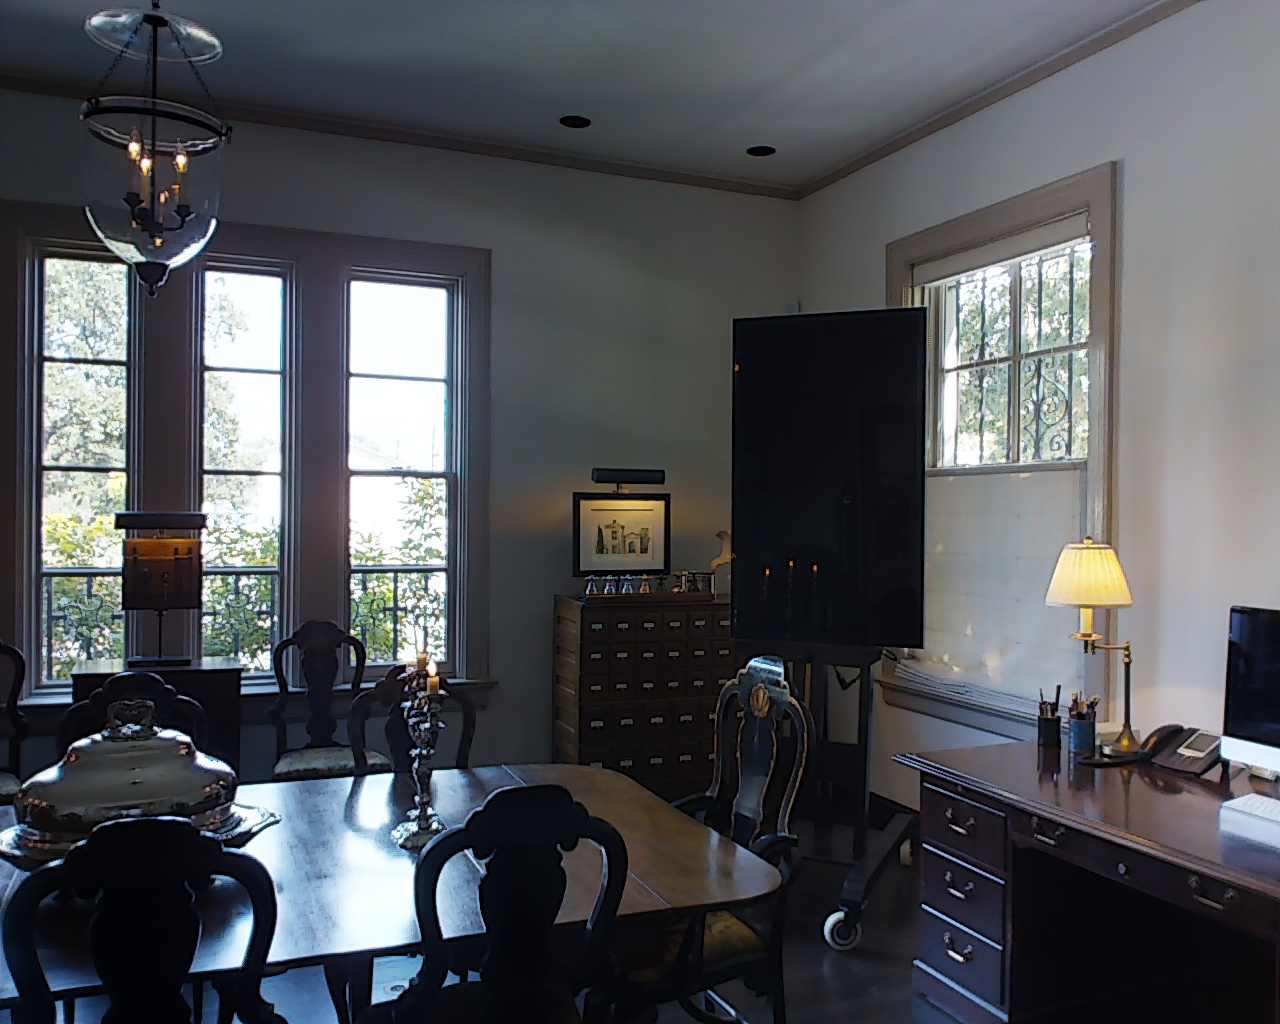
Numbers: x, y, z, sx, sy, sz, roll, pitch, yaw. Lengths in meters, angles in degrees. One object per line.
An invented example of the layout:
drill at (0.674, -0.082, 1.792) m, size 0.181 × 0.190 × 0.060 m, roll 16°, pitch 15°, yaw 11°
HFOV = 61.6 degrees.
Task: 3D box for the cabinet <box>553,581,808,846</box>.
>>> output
cabinet at (0.200, 0.940, 5.300) m, size 1.160 × 1.150 × 0.470 m, roll 1°, pitch 0°, yaw -22°
